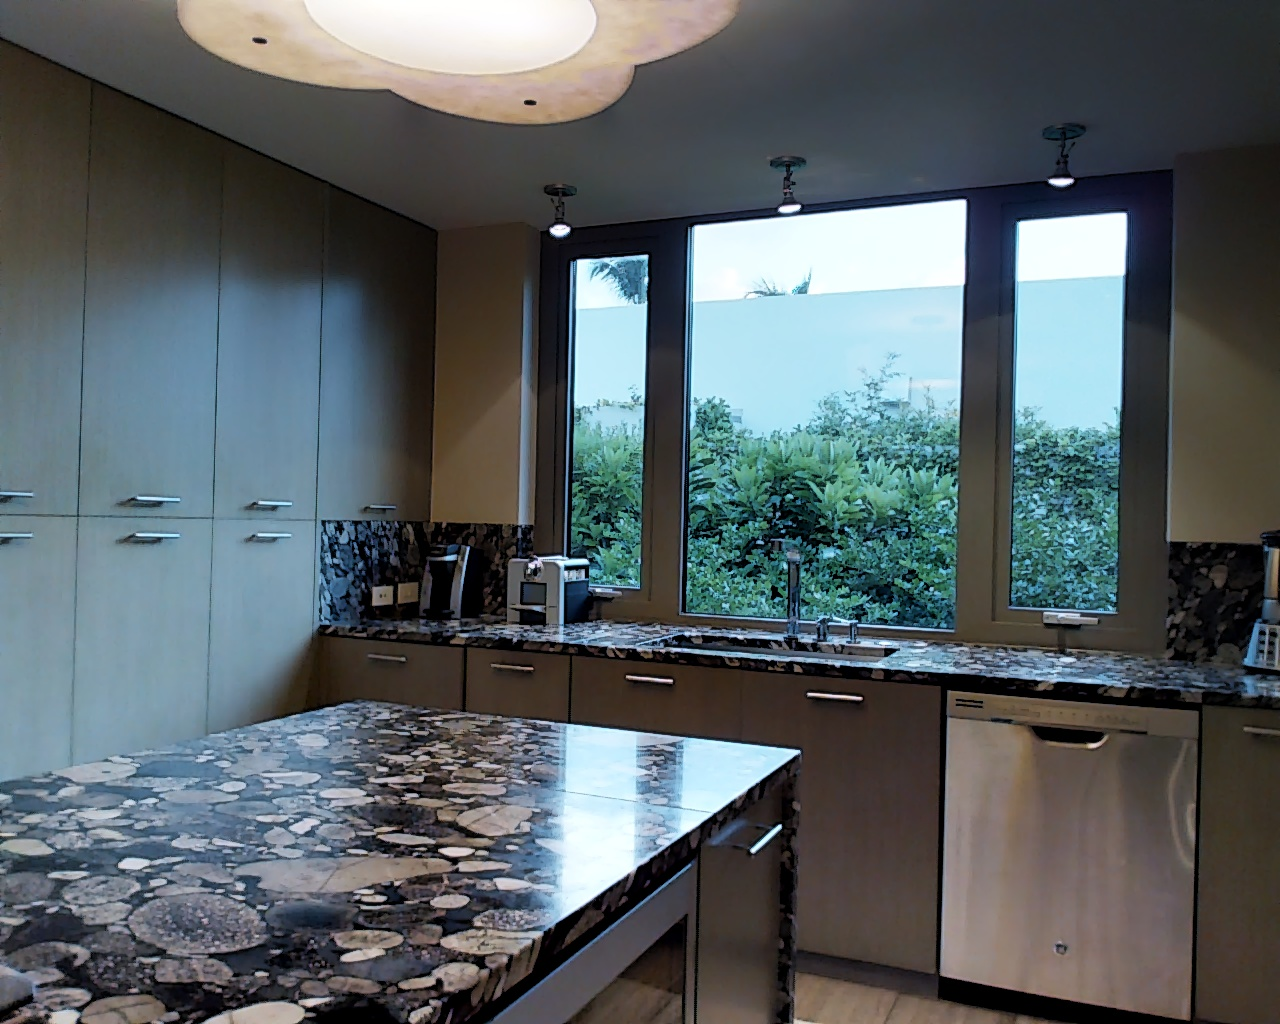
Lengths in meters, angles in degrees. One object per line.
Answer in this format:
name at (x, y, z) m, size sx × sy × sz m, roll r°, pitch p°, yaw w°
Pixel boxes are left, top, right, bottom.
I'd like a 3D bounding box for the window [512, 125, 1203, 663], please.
window at (0.650, -0.360, 3.750) m, size 2.280 × 1.550 × 0.380 m, roll 1°, pitch 0°, yaw 25°
